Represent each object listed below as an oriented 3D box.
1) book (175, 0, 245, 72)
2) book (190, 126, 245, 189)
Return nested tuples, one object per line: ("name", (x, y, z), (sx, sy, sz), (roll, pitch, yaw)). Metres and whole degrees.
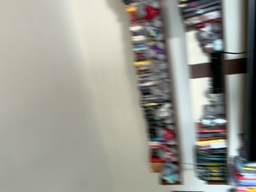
("book", (0.490, -0.540, 1.330), (0.390, 0.350, 0.660), (-58, -40, -65))
("book", (0.650, 0.450, 1.580), (0.260, 0.330, 0.360), (-58, -39, -64))
